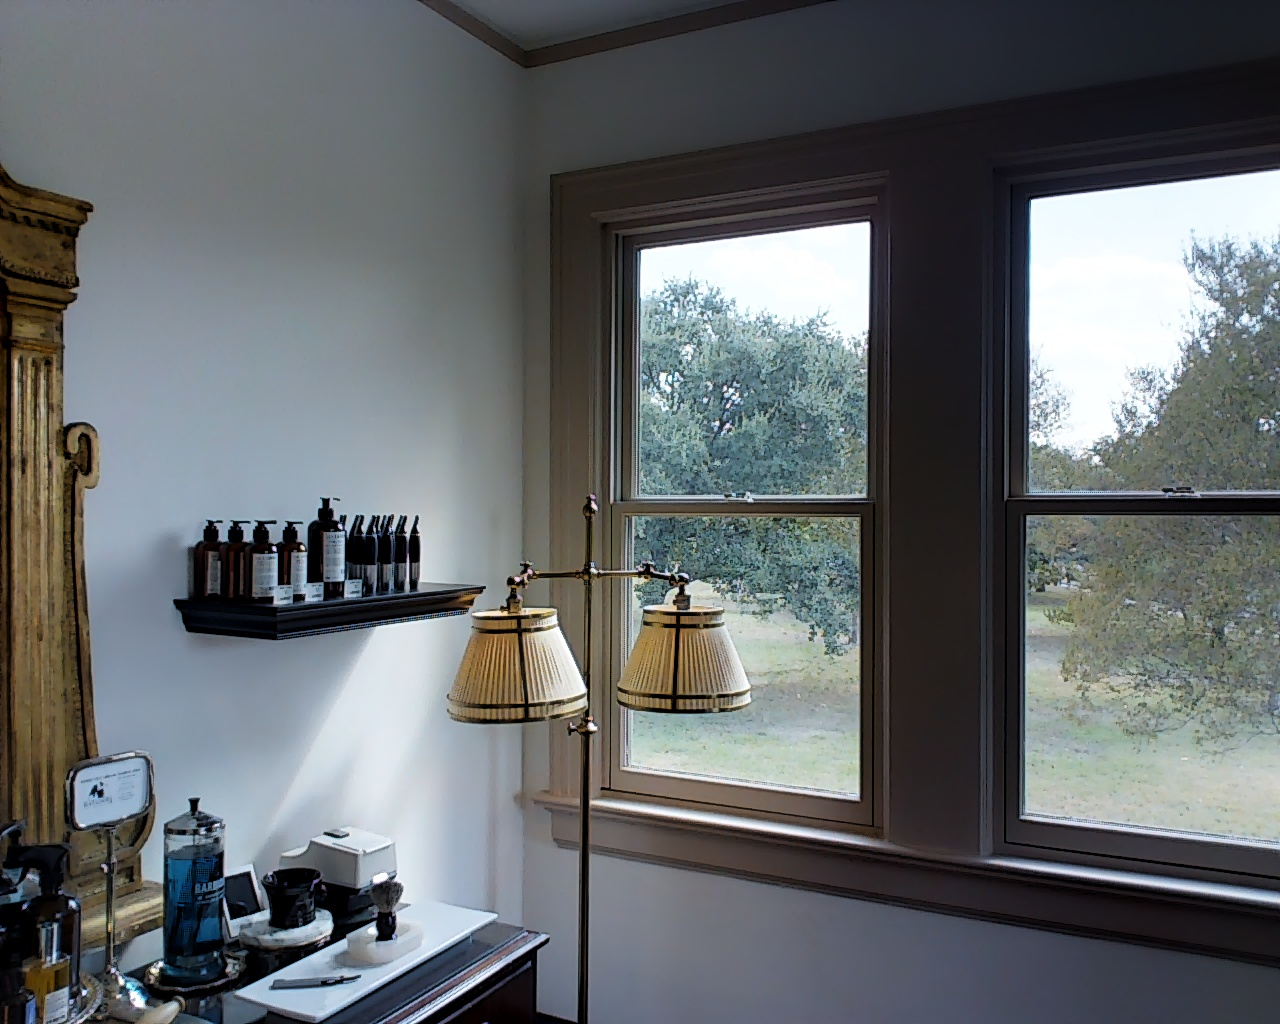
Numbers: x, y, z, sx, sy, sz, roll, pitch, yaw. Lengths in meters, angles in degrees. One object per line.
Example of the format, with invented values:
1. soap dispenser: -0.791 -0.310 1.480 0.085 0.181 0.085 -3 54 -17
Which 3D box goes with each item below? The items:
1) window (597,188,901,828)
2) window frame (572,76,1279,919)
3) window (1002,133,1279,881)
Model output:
1. window: 0.260 -0.010 2.730 0.780 1.490 0.120 0 0 27
2. window frame: 0.730 -0.030 2.530 1.980 1.690 0.160 0 0 27
3. window: 1.180 -0.010 2.310 0.740 1.500 0.190 0 0 27
